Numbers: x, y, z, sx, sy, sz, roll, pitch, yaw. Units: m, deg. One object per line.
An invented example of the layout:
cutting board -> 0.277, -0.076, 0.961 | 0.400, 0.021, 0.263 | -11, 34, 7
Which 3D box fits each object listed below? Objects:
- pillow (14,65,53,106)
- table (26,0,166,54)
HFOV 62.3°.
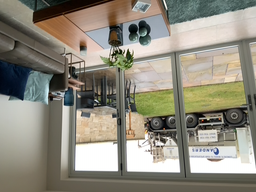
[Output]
pillow -> -1.380, -0.160, 3.130 | 0.220, 0.520, 0.360 | 0, -164, 36
table -> -0.270, -0.830, 2.180 | 1.150, 0.340, 0.810 | -6, 168, 20
